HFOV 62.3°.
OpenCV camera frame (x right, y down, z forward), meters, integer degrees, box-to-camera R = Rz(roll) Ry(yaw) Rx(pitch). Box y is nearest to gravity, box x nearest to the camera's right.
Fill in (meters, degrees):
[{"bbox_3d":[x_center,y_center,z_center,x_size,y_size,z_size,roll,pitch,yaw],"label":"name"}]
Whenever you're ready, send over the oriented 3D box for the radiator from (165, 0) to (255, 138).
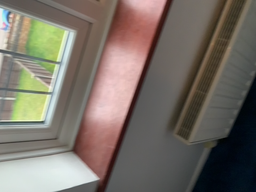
[{"bbox_3d":[0.570,-0.400,0.920,0.110,0.610,1.190,28,104,39],"label":"radiator"}]
